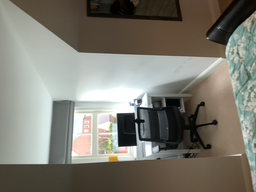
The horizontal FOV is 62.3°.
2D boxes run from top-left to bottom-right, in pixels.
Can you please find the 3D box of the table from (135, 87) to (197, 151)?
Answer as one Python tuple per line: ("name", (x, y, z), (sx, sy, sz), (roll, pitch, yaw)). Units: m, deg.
("table", (0.550, 0.380, 3.360), (0.600, 0.730, 0.880), (117, 152, -68))
